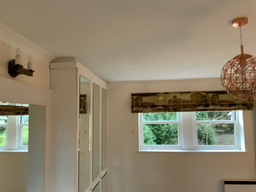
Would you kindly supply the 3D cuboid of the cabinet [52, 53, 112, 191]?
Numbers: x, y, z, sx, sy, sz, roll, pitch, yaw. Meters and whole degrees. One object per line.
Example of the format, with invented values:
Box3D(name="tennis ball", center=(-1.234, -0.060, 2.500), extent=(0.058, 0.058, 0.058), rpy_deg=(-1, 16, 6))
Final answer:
Box3D(name="cabinet", center=(-0.550, 0.790, 3.080), extent=(0.270, 2.360, 1.740), rpy_deg=(-2, -5, 7))
